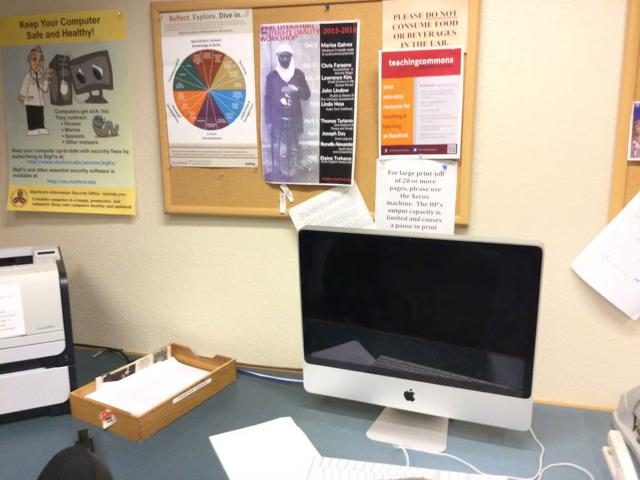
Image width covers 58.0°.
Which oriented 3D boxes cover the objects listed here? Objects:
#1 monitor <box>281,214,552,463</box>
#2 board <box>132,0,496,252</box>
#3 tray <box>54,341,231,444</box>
[{"bbox_3d":[0.220,0.210,1.410,0.570,0.490,0.230,5,9,13],"label":"monitor"},{"bbox_3d":[-0.050,-0.350,1.590,0.970,0.680,0.110,5,9,13],"label":"board"},{"bbox_3d":[-0.480,0.410,1.630,0.280,0.090,0.410,6,10,22],"label":"tray"}]
